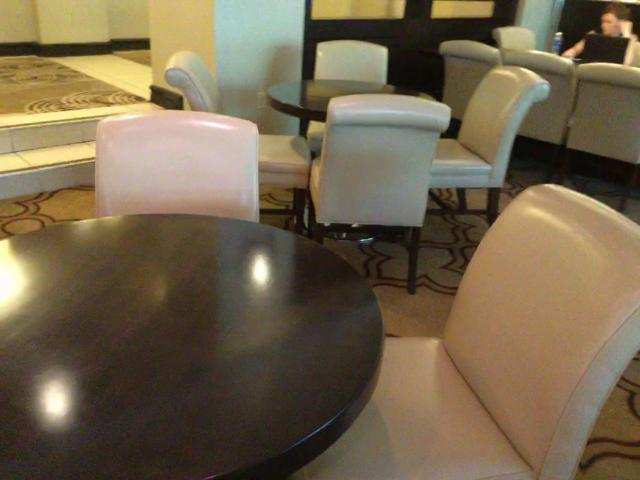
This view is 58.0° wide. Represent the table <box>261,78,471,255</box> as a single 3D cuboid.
[{"bbox_3d":[0.170,-0.440,3.200,0.910,0.710,0.880,-1,25,-10],"label":"table"}]

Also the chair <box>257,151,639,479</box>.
[{"bbox_3d":[0.290,0.330,1.350,0.810,0.920,0.580,0,25,-10],"label":"chair"}]

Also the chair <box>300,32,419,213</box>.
[{"bbox_3d":[0.200,-0.790,3.770,0.610,0.950,0.840,3,25,-4],"label":"chair"}]

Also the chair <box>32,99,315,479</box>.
[{"bbox_3d":[-0.380,0.140,1.710,0.560,0.930,0.760,0,25,-10],"label":"chair"}]

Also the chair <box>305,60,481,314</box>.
[{"bbox_3d":[0.260,-0.300,2.770,0.540,0.920,0.970,1,25,-7],"label":"chair"}]

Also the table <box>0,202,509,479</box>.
[{"bbox_3d":[-0.270,0.130,1.110,0.910,0.080,0.890,-1,25,-10],"label":"table"}]

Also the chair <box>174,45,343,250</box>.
[{"bbox_3d":[-0.350,-0.500,3.090,0.770,0.930,0.590,-1,25,-10],"label":"chair"}]

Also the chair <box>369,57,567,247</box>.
[{"bbox_3d":[0.770,-0.510,3.290,0.760,0.900,0.650,0,25,-10],"label":"chair"}]
